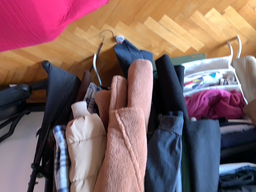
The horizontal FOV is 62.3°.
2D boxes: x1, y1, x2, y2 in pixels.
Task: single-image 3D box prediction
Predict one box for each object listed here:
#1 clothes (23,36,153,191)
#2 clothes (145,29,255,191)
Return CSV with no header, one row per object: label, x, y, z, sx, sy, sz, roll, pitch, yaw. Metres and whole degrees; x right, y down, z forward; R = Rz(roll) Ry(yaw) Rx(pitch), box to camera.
clothes,-0.100,0.340,1.200,0.440,1.120,0.790,-3,140,4
clothes,0.380,0.330,1.150,0.480,1.210,0.760,-4,140,5
